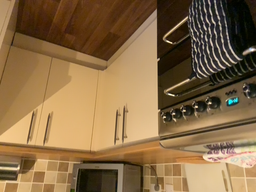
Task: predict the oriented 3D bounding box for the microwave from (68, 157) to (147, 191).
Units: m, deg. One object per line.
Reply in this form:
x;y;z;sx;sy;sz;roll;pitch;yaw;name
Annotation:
-0.190;0.790;1.960;0.570;0.360;0.460;14;156;-28;microwave
